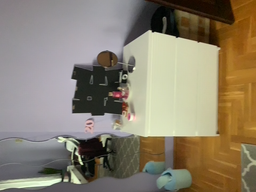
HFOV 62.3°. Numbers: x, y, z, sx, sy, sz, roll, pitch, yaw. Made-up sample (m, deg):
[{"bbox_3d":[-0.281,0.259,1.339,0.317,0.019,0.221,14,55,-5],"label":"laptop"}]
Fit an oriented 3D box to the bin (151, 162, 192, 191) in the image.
[{"bbox_3d":[0.450,0.850,2.240,0.310,0.280,0.240,-19,69,62],"label":"bin"}]
